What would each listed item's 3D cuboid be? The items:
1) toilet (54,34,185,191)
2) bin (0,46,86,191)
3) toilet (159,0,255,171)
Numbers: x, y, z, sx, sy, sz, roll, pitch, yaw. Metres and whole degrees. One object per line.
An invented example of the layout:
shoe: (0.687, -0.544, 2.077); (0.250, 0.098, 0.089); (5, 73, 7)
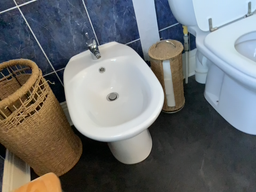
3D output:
toilet: (-0.050, 0.070, 0.990); (0.370, 0.410, 0.550); (-23, 44, -7)
bin: (-0.440, 0.110, 0.990); (0.270, 0.490, 0.390); (-21, 44, -5)
toilet: (0.480, -0.260, 0.870); (0.420, 0.810, 0.690); (-22, 44, -6)
